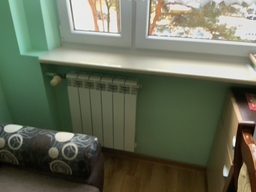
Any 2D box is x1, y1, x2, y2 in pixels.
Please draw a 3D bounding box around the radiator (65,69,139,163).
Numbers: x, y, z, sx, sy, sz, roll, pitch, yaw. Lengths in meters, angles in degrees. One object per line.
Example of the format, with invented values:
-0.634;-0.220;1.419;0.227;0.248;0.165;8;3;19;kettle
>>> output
-0.180;0.160;1.590;0.480;0.660;0.140;9;30;14;radiator
